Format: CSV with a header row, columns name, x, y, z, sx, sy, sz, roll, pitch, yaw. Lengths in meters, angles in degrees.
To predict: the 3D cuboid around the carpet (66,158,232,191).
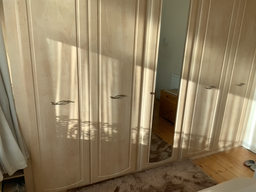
name,x,y,z,sx,sy,sz,roll,pitch,yaw
carpet,0.250,0.970,2.030,1.530,0.020,0.760,-5,20,-24
